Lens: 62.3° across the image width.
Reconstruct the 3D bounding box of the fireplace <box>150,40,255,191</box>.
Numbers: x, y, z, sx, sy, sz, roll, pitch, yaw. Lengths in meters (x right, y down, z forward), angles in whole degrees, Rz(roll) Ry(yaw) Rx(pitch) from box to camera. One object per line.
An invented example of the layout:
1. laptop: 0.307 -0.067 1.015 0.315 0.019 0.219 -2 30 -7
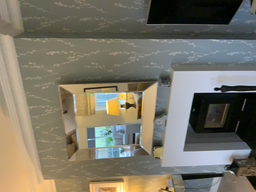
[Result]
1. fireplace: 0.850 0.220 2.260 0.840 0.990 1.410 -100 11 -62
